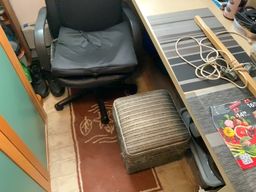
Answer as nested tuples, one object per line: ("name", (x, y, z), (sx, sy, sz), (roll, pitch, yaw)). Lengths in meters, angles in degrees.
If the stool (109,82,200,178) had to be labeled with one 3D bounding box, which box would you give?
("stool", (0.120, 0.210, 1.280), (0.390, 0.380, 0.370), (-11, 55, -9))
